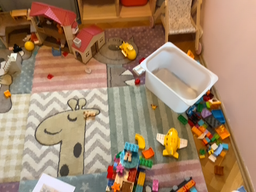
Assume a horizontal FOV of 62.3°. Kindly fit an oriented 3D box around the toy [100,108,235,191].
[{"bbox_3d":[0.160,0.320,1.150,0.600,0.290,0.400,-2,60,-4],"label":"toy"}]

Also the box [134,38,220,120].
[{"bbox_3d":[0.320,-0.130,1.470,0.330,0.190,0.450,-34,67,-20],"label":"box"}]

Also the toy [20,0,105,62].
[{"bbox_3d":[-0.440,-0.520,1.560,0.460,0.350,0.280,14,60,5],"label":"toy"}]
